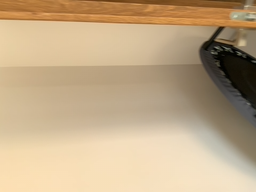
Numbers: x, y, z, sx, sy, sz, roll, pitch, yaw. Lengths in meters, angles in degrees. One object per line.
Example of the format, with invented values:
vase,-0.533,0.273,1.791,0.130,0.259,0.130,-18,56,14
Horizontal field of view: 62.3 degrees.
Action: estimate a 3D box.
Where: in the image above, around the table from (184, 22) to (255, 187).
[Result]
table,0.970,-0.040,1.310,0.370,0.860,0.940,101,161,-44
